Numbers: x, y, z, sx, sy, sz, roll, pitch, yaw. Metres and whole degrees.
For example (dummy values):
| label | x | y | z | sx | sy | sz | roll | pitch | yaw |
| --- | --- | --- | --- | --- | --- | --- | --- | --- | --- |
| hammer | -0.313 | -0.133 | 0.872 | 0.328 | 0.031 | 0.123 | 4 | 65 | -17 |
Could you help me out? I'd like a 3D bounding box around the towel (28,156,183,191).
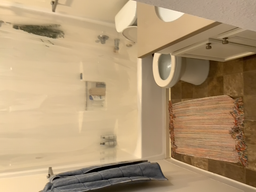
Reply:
| label | x | y | z | sx | sy | sz | roll | pitch | yaw |
| --- | --- | --- | --- | --- | --- | --- | --- | --- | --- |
| towel | -0.140 | 0.590 | 1.570 | 0.350 | 1.080 | 0.140 | 167 | 103 | -63 |
